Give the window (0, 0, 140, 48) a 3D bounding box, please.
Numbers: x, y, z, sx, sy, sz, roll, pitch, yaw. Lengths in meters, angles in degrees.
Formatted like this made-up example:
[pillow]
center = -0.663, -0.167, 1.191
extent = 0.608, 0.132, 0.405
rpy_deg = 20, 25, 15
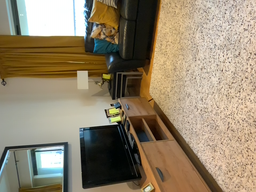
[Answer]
[window]
center = -0.880, -1.660, 3.490
extent = 0.360, 2.170, 1.650
rpy_deg = -119, 30, -59
